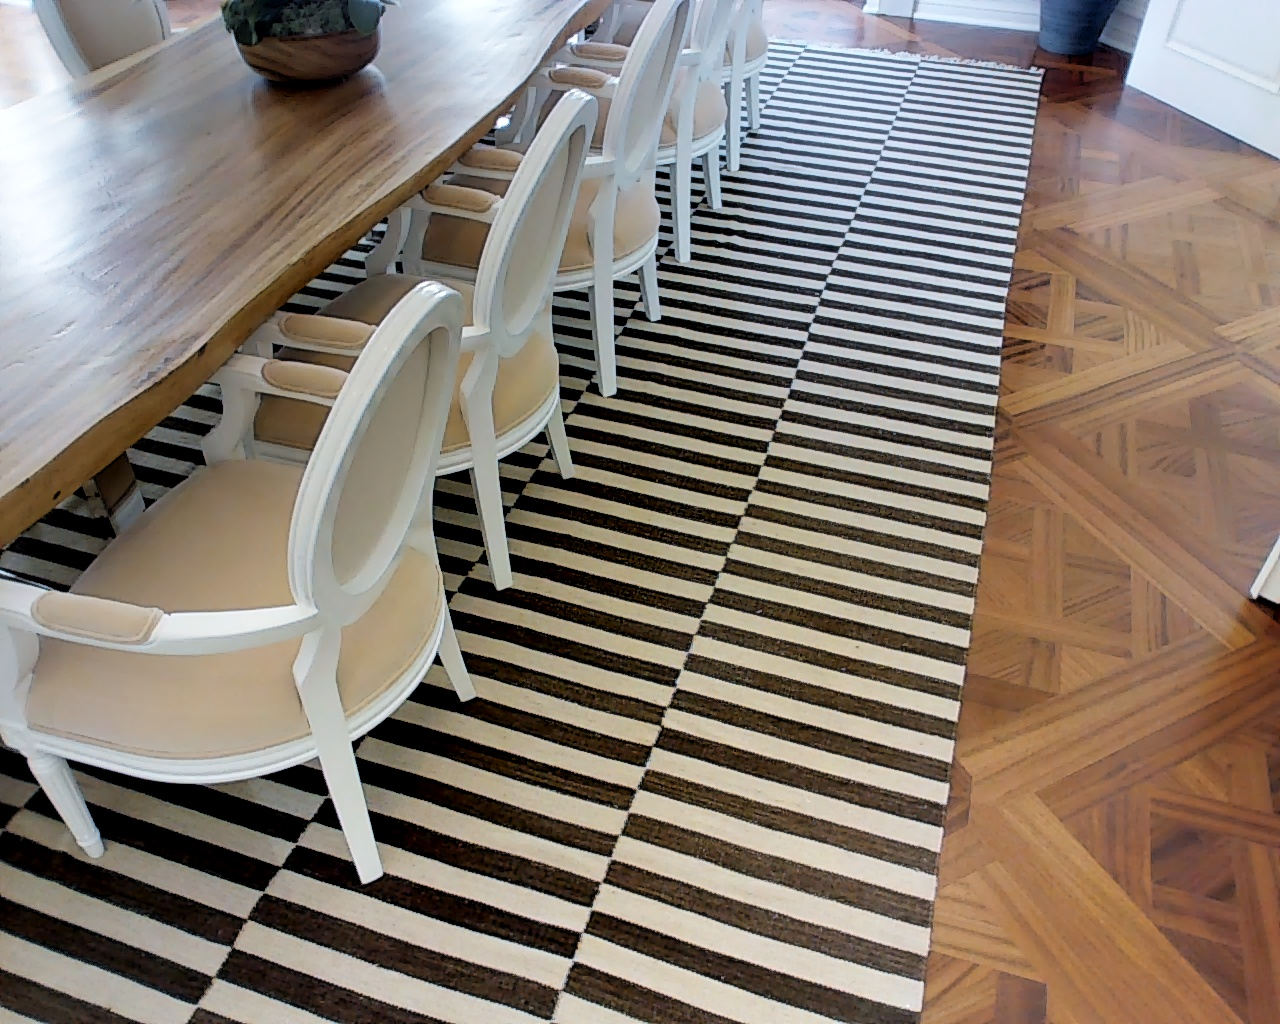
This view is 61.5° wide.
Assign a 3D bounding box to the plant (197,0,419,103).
[{"bbox_3d":[-0.770,-1.180,2.540,0.370,0.270,0.380,4,41,4],"label":"plant"}]
